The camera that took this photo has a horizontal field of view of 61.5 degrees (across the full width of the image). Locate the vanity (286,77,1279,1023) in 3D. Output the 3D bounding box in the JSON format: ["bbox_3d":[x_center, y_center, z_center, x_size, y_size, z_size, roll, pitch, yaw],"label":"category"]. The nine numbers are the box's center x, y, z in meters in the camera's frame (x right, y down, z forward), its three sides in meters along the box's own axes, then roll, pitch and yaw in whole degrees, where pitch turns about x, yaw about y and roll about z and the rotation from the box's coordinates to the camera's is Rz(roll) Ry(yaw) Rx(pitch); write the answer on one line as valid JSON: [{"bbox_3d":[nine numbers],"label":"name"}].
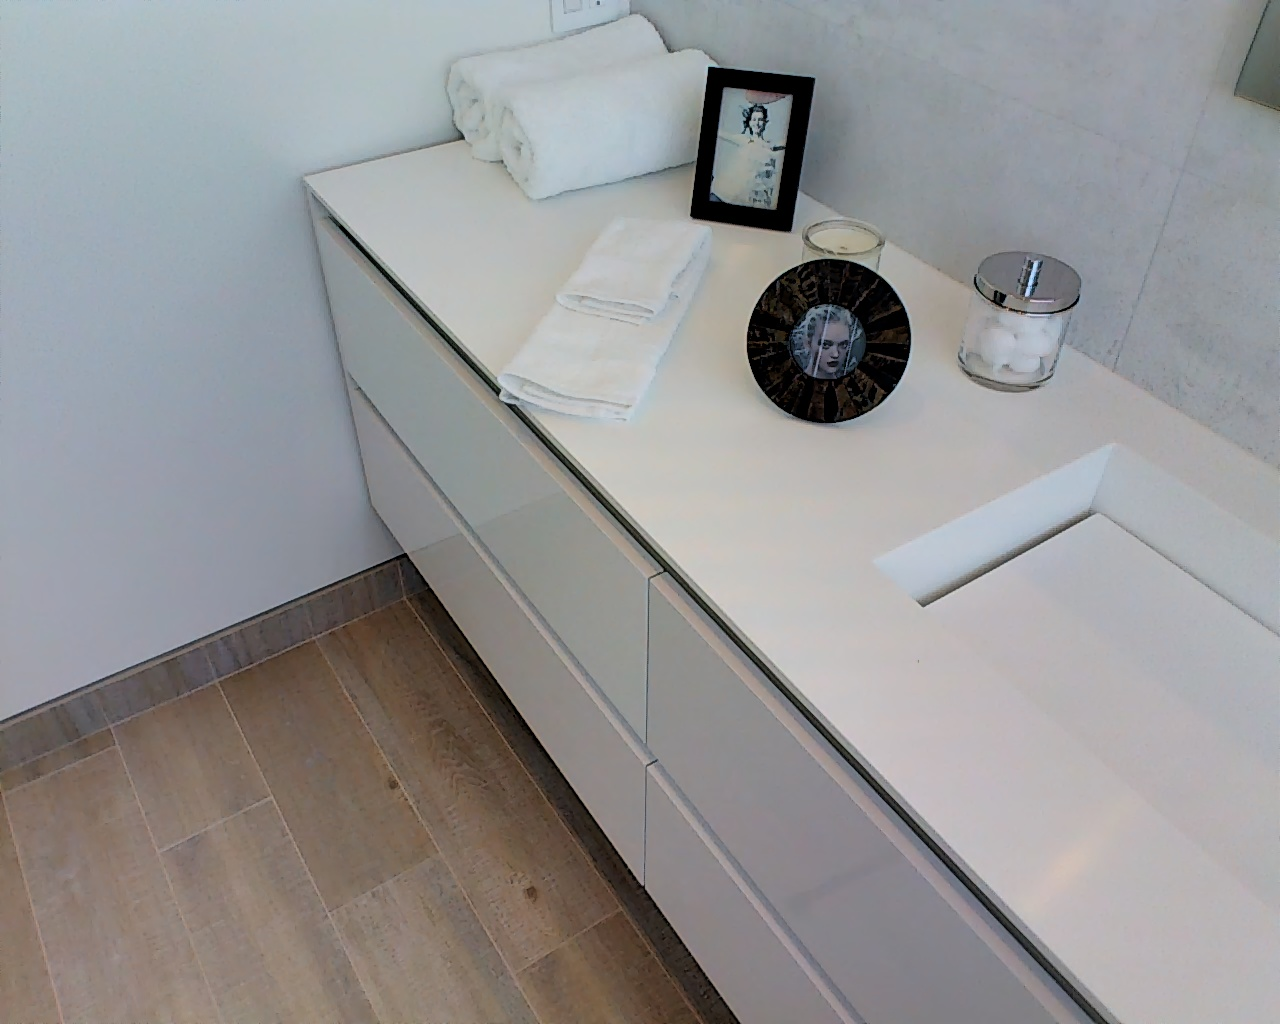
[{"bbox_3d":[0.230,0.250,1.390,0.580,0.940,1.900,-21,46,-26],"label":"vanity"}]
